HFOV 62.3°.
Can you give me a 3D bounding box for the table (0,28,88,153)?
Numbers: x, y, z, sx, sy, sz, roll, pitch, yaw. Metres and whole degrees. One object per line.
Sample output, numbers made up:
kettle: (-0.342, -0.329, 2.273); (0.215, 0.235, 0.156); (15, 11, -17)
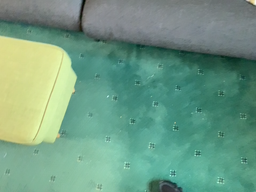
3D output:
table: (-0.580, -0.020, 0.980); (0.620, 0.430, 0.410); (12, 73, 4)
